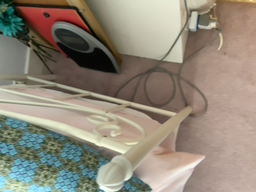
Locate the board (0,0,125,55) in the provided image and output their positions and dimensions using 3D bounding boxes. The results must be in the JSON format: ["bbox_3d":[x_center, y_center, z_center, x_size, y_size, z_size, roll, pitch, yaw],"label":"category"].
[{"bbox_3d":[-0.390,-0.380,1.120,0.680,0.830,0.080,9,92,3],"label":"board"}]
